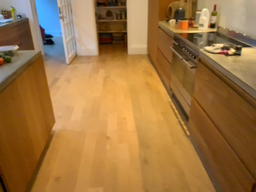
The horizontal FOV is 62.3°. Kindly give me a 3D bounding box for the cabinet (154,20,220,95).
[{"bbox_3d":[0.860,-0.680,3.480,0.680,0.920,1.080,-2,26,-2],"label":"cabinet"}]

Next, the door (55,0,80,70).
[{"bbox_3d":[-1.290,-1.730,4.450,0.140,2.180,0.830,-1,26,1],"label":"door"}]
